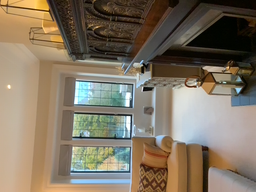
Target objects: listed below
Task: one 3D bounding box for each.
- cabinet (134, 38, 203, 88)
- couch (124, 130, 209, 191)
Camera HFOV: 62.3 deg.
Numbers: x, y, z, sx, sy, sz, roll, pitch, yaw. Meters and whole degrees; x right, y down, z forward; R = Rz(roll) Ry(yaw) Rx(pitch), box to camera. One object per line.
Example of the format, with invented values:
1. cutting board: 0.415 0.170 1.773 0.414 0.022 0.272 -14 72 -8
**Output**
1. cabinet: 0.630 -0.500 3.690 1.110 0.840 0.550 153 120 -79
2. couch: 0.500 1.660 3.240 1.050 0.980 2.180 150 123 -78
